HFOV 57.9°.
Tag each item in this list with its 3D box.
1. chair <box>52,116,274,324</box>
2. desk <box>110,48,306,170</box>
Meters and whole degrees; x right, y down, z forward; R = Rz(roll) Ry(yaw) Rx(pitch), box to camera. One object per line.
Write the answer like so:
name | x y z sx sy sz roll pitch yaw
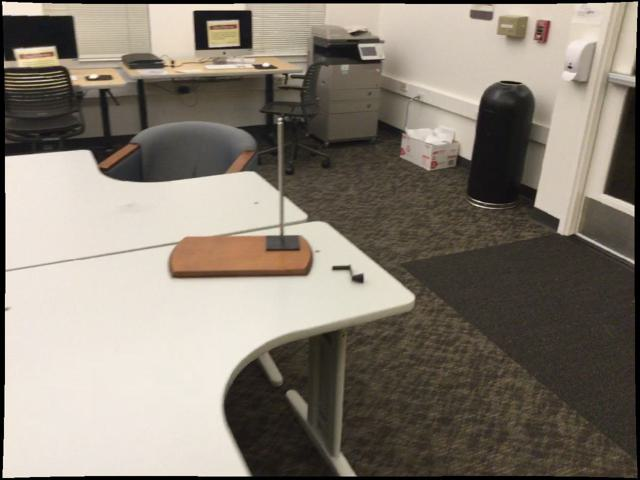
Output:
chair | -0.669 -0.140 2.850 0.799 0.711 0.870 2 26 0
desk | -0.959 -1.191 5.040 1.459 0.771 0.820 -11 28 -24
